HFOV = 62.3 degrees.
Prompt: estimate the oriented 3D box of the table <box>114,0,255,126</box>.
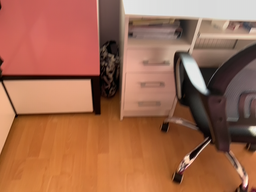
[{"bbox_3d":[0.550,-0.310,1.420,1.240,0.740,0.640,-1,43,-6],"label":"table"}]
